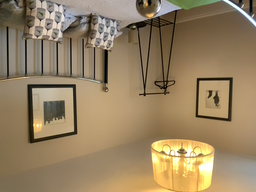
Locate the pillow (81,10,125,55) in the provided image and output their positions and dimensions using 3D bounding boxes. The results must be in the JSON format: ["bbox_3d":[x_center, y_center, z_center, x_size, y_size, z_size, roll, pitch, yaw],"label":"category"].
[{"bbox_3d":[-0.290,-0.780,2.590,0.170,0.390,0.450,1,-149,37],"label":"pillow"}]

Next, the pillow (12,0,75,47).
[{"bbox_3d":[-0.820,-0.750,2.110,0.230,0.410,0.410,4,-155,41],"label":"pillow"}]

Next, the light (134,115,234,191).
[{"bbox_3d":[0.480,0.630,1.850,0.490,0.750,0.610,20,-165,39],"label":"light"}]
